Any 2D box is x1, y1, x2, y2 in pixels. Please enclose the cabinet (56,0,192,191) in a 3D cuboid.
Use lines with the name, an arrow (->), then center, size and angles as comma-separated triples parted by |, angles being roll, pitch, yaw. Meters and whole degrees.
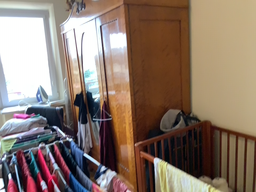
cabinet -> -0.170, -0.010, 2.530 | 0.670, 2.130, 1.780 | -10, 12, -32

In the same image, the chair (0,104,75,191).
chair -> -1.230, 0.650, 2.580 | 0.720, 0.920, 0.850 | 0, 11, 16
